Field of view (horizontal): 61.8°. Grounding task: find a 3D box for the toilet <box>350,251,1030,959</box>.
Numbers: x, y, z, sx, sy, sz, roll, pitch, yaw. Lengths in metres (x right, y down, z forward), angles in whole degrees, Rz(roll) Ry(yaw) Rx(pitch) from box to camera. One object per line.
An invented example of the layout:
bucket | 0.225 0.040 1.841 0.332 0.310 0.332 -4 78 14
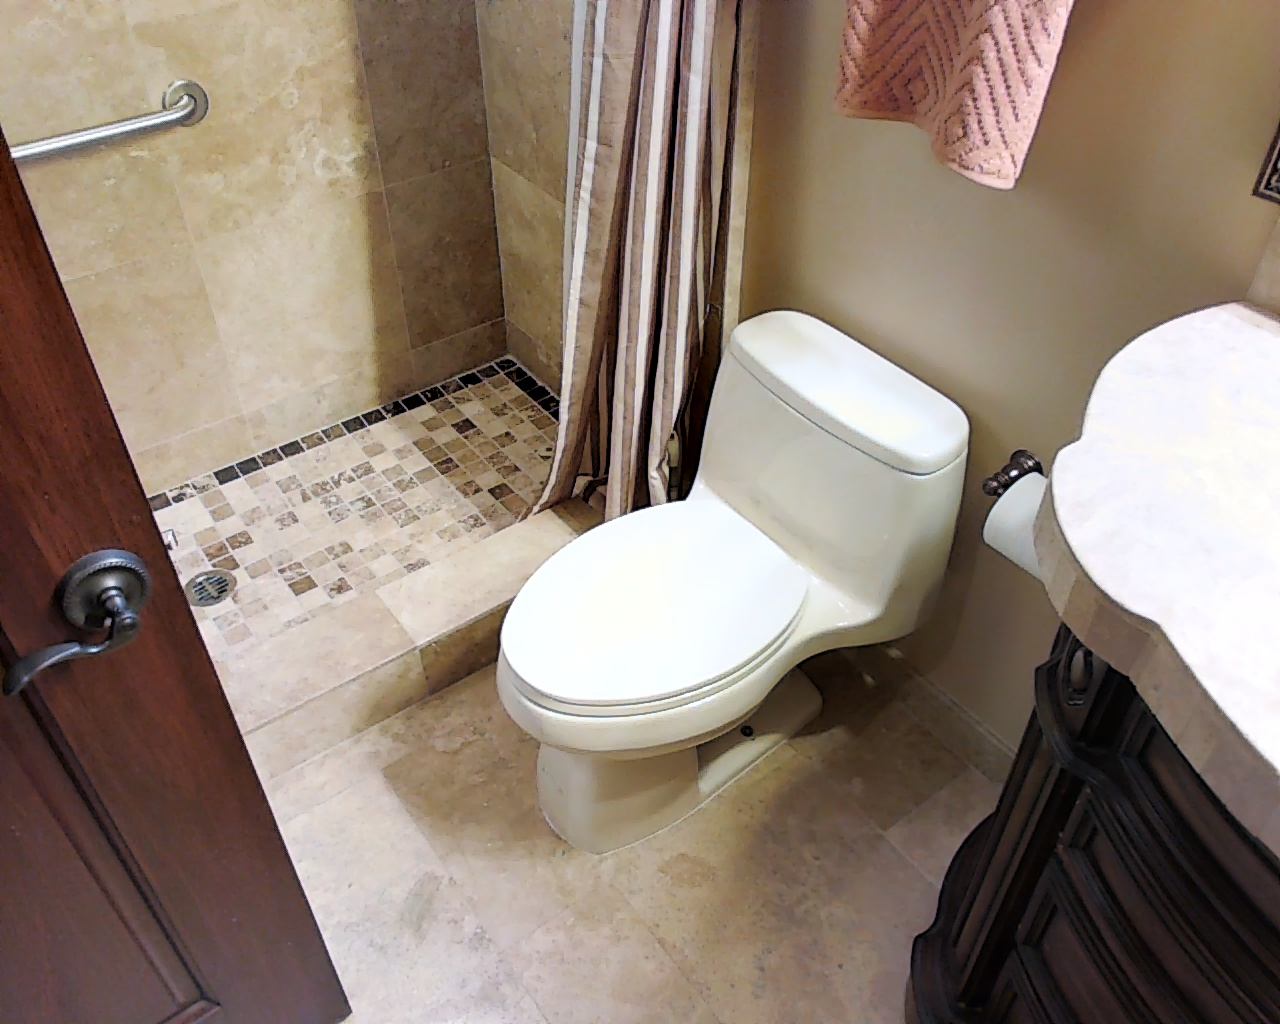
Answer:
toilet | 0.070 0.110 1.690 0.730 0.660 0.580 -28 49 -26

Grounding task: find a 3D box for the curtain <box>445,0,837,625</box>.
curtain | -0.020 -0.670 1.610 0.300 1.820 0.550 -27 48 -25
